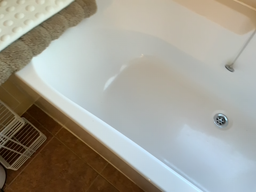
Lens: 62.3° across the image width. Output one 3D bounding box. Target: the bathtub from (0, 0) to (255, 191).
[{"bbox_3d":[0.340,0.100,0.880,1.700,0.550,0.740,34,69,15],"label":"bathtub"}]
